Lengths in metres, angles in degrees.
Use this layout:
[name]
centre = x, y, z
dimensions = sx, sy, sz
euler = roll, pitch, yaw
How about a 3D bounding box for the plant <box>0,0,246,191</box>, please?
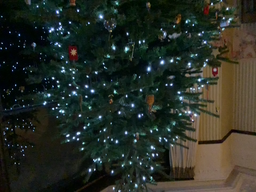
[plant]
centre = -0.100, -0.310, 1.980
dimensions = 1.780, 2.970, 1.560
euler = 4, -169, 42
